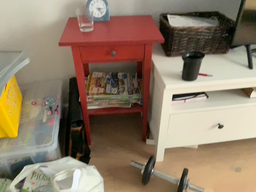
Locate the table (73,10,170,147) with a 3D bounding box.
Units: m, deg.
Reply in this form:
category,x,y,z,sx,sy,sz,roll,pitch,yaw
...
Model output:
category,x,y,z,sx,sy,sz,roll,pitch,yaw
table,-0.050,-0.090,1.290,0.430,0.720,0.360,-5,37,-7
